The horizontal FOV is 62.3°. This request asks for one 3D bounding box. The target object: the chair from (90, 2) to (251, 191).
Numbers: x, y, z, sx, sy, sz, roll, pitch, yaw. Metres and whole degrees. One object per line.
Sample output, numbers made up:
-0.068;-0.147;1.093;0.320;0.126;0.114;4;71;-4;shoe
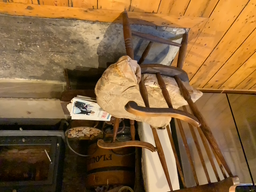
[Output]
0.120;0.050;1.160;0.550;0.870;0.500;6;150;-17;chair
